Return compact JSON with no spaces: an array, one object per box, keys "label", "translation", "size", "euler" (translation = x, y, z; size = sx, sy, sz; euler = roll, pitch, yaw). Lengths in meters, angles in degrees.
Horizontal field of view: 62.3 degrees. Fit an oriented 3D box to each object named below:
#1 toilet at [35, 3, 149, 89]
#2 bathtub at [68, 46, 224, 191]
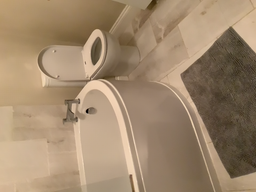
[{"label":"toilet","translation":[-0.360,-0.390,1.990],"size":[0.610,0.840,0.430],"euler":[-39,58,51]},{"label":"bathtub","translation":[0.070,0.580,1.570],"size":[0.910,0.590,1.550],"euler":[-39,58,51]}]
